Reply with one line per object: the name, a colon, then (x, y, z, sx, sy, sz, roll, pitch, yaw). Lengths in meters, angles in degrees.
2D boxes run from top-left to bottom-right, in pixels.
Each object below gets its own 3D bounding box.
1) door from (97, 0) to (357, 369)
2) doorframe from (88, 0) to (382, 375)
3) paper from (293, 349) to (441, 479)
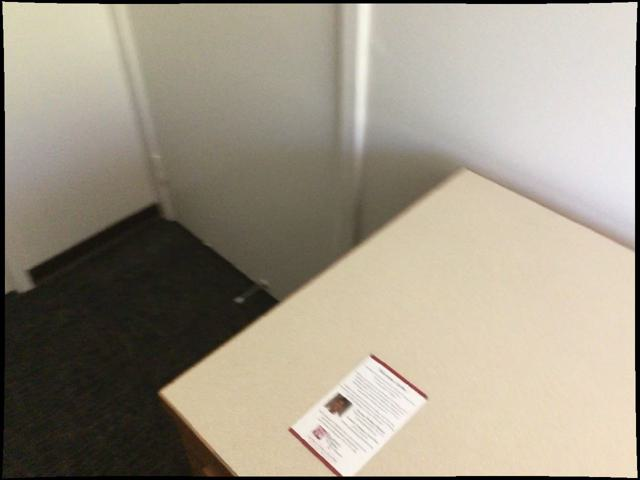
door: (-0.249, -0.291, 1.420, 0.839, 1.162, 0.070, 33, 52, 33)
doorframe: (-0.249, -0.301, 1.420, 0.939, 1.162, 0.070, 32, 52, 32)
paper: (0.050, 0.180, 0.600, 0.090, 0.010, 0.130, 33, 52, 32)
